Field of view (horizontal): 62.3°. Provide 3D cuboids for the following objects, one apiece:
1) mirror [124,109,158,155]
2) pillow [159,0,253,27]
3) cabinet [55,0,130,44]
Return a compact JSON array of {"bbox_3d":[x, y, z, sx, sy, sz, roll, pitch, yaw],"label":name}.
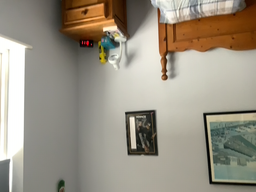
[{"bbox_3d":[0.120,0.340,2.030,0.310,0.430,0.010,-3,175,16],"label":"mirror"},{"bbox_3d":[0.580,-0.700,1.640,0.640,0.110,0.370,-3,175,14],"label":"pillow"},{"bbox_3d":[-0.330,-0.950,2.070,0.580,0.710,0.440,-2,176,20],"label":"cabinet"}]
